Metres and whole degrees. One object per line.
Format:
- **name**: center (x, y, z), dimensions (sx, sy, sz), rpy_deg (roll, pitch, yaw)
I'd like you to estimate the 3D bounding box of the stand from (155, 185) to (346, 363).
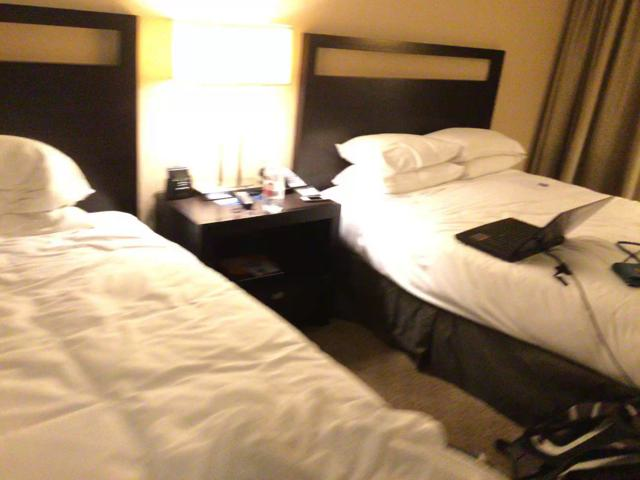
- **stand**: center (-0.340, 0.120, 2.800), dimensions (0.760, 0.620, 0.460), rpy_deg (-10, 24, -37)
